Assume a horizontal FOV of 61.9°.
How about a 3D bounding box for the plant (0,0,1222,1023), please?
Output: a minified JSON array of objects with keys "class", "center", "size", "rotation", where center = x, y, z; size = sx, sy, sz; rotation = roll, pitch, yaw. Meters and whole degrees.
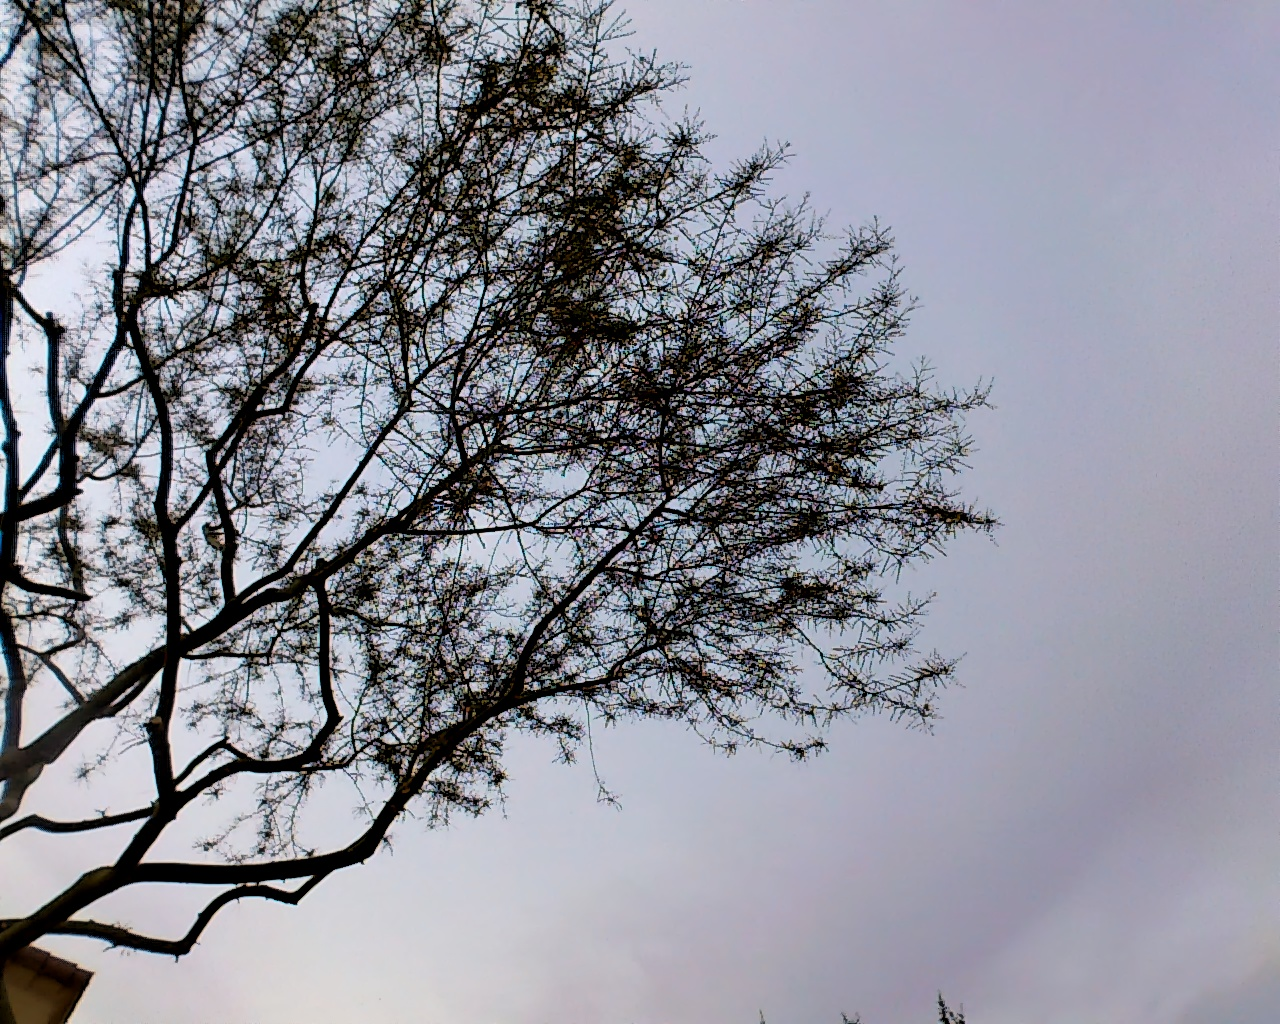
[{"class":"plant","center":[-2.219,1.230,3.280],"size":[5.229,4.751,4.840],"rotation":[20,-44,-21]}]
